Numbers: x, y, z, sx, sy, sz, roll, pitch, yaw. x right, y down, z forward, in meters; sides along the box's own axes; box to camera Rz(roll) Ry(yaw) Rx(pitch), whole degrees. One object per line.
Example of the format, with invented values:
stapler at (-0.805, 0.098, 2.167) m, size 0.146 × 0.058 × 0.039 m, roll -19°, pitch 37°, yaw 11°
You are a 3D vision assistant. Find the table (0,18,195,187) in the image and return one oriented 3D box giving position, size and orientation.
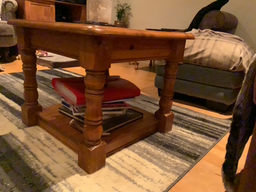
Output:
table at (-0.130, -0.070, 0.960) m, size 0.570 × 0.470 × 0.580 m, roll 19°, pitch 22°, yaw 38°
